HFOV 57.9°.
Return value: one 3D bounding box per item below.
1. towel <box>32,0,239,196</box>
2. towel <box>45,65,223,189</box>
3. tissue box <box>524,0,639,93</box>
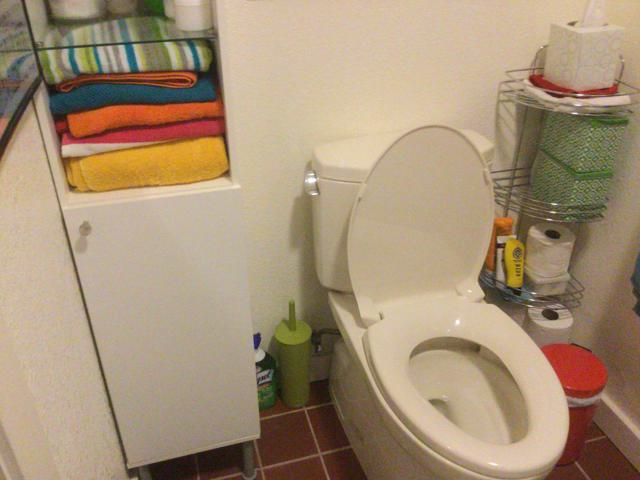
[{"bbox_3d":[-0.300,-0.270,1.010,0.280,0.300,0.240,-5,28,-13],"label":"towel"},{"bbox_3d":[-0.300,-0.190,0.970,0.260,0.190,0.050,-5,28,-13],"label":"towel"},{"bbox_3d":[0.600,-0.450,1.280,0.180,0.200,0.180,-5,28,-13],"label":"tissue box"}]
